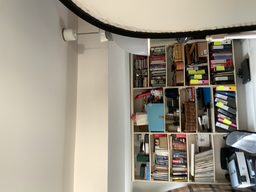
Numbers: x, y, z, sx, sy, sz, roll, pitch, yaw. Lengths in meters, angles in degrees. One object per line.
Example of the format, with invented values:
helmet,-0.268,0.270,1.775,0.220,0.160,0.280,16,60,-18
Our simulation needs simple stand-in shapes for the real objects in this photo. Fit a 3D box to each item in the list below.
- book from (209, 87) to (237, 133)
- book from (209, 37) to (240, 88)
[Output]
book,1.640,0.250,3.710,0.480,0.300,0.750,37,-127,-79
book,1.720,-0.580,3.820,0.360,0.410,0.840,22,-113,-81
